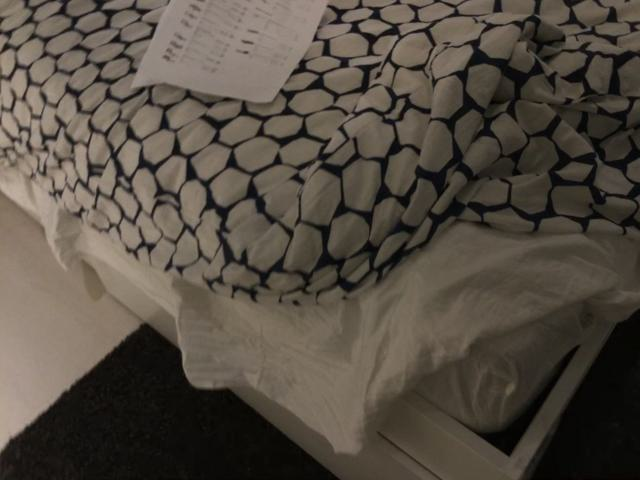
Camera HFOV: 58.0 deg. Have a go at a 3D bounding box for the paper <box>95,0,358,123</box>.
[{"bbox_3d":[-0.120,-0.330,0.900,0.320,0.130,0.280,6,47,9],"label":"paper"}]
